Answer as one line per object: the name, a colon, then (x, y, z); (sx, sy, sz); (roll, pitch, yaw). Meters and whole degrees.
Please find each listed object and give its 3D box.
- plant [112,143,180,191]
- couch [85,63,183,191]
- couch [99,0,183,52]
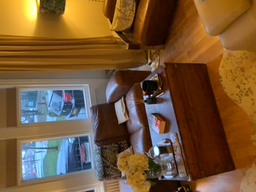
plant: (0.140, 0.630, 1.840); (0.330, 0.430, 0.340); (139, 125, -59)
couch: (-0.040, 0.520, 3.010); (1.040, 0.780, 1.620); (137, 127, -59)
couch: (0.120, -1.110, 2.720); (0.850, 0.680, 0.760); (-123, 38, -49)
